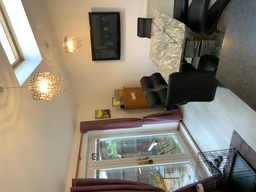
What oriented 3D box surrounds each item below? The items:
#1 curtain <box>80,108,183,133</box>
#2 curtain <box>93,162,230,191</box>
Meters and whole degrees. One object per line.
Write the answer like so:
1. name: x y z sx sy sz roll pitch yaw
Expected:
1. curtain: 0.070 0.540 4.720 0.290 2.220 0.360 102 164 -65
2. curtain: 0.460 1.420 3.190 0.500 1.910 0.430 -107 15 -63
